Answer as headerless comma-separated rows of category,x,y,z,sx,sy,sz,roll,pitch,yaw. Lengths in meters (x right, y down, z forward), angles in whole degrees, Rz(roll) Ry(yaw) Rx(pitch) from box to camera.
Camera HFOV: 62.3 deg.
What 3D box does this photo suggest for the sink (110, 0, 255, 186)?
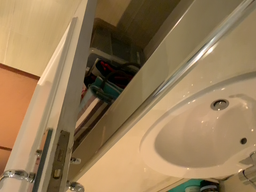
sink,0.290,0.080,0.720,0.490,0.190,0.590,19,134,-23
